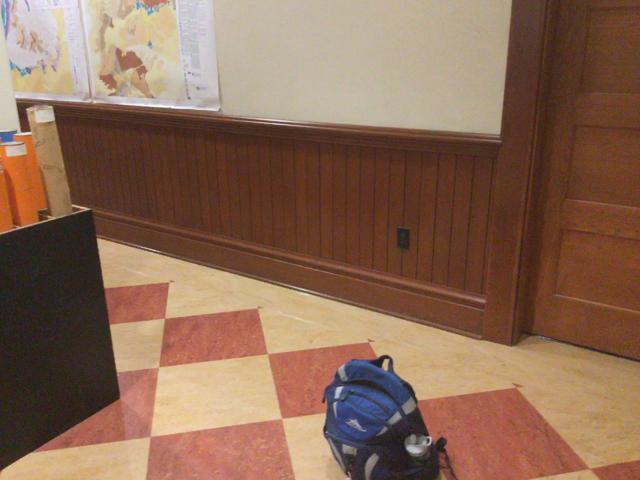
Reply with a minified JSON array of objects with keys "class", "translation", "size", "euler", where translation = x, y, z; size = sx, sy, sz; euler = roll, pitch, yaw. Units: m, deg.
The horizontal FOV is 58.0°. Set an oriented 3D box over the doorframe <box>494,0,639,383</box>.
[{"class":"doorframe","translation":[1.230,-0.540,2.150],"size":[0.970,2.200,0.330],"euler":[9,21,34]}]
